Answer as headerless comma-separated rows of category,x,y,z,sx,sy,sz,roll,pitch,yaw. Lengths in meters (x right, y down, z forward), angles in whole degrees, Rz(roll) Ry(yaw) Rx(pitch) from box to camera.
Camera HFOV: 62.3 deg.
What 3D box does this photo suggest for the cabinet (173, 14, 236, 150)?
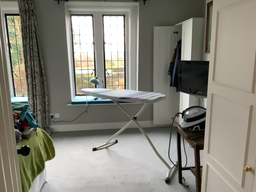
cabinet,1.140,-0.230,3.390,0.530,1.900,0.870,-2,12,-5
